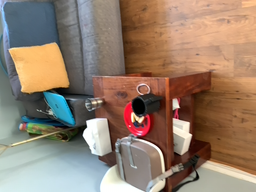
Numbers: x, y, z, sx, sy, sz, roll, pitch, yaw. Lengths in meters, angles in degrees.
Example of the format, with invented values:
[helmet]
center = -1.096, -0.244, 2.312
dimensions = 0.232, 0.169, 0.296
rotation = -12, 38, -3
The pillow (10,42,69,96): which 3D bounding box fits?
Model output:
[pillow]
center = -0.720, -0.230, 1.760
dimensions = 0.110, 0.340, 0.400
rotation = -22, 87, 34
